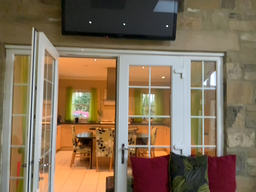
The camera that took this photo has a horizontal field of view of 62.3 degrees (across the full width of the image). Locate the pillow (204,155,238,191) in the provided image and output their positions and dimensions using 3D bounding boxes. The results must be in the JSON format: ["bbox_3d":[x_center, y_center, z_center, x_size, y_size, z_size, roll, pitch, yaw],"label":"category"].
[{"bbox_3d":[0.990,0.850,2.260,0.310,0.400,0.130,2,-3,-5],"label":"pillow"}]

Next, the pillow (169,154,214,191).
[{"bbox_3d":[0.640,0.820,2.160,0.390,0.430,0.140,1,-17,-4],"label":"pillow"}]
